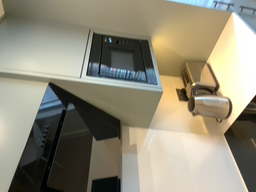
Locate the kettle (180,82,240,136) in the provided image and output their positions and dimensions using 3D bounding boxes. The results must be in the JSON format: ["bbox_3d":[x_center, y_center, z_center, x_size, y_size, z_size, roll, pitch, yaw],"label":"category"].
[{"bbox_3d":[0.520,0.090,1.400,0.230,0.240,0.240,-92,13,-47],"label":"kettle"}]
